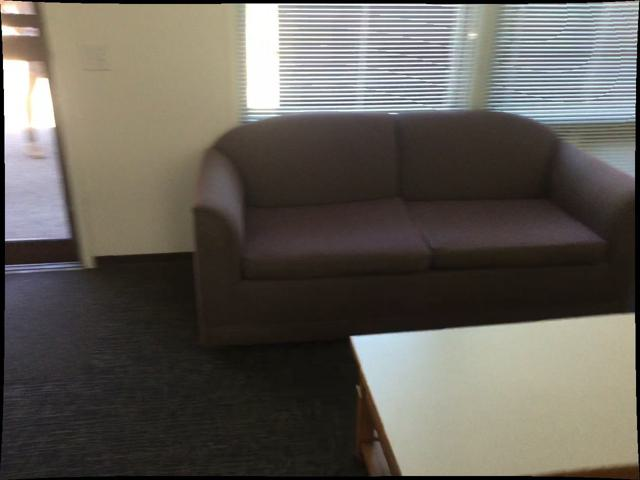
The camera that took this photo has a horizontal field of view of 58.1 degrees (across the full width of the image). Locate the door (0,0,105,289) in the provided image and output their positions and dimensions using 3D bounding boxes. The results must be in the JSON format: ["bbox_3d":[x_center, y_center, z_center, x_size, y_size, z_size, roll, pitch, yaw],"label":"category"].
[{"bbox_3d":[-1.567,-0.701,2.510,0.919,1.993,0.200,-3,25,-9],"label":"door"}]

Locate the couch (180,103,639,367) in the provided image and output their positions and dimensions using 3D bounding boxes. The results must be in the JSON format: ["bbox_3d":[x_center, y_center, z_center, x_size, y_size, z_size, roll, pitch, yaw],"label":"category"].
[{"bbox_3d":[0.339,-0.110,2.580,1.767,0.791,0.920,-3,26,-9],"label":"couch"}]

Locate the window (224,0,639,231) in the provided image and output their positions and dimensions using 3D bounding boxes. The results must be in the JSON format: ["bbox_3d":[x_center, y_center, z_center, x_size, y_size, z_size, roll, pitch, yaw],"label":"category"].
[{"bbox_3d":[0.759,-1.062,2.700,2.386,1.993,0.280,-3,25,-9],"label":"window"}]
